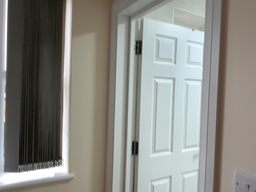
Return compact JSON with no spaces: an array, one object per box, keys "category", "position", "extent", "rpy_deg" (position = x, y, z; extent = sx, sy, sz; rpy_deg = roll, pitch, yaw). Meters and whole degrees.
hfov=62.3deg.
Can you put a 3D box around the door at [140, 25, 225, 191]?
[{"category":"door","position":[0.490,0.490,1.820],"extent":[0.870,2.000,0.060],"rpy_deg":[1,3,-32]}]
